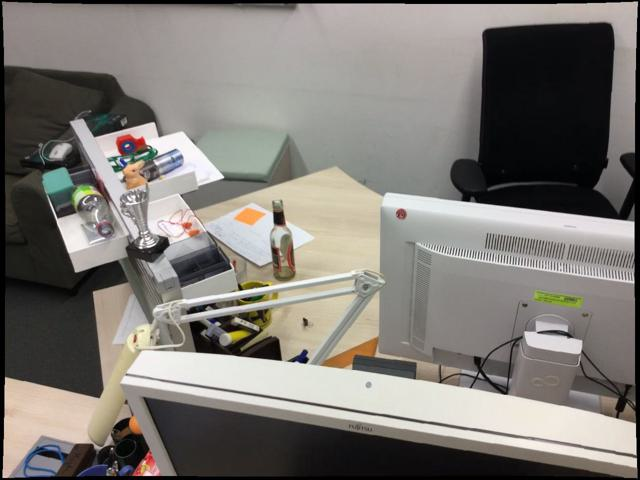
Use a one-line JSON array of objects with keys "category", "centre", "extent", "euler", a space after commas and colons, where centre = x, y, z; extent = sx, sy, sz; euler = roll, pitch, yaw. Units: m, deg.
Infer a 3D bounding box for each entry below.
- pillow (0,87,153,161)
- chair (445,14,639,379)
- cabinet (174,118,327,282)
[{"category": "pillow", "centre": [-1.189, -0.551, 2.790], "extent": [0.550, 0.240, 0.470], "euler": [8, 3, 17]}, {"category": "chair", "centre": [0.839, -0.170, 2.060], "extent": [0.619, 0.991, 0.740], "euler": [8, 41, 17]}, {"category": "cabinet", "centre": [-0.290, -0.200, 2.710], "extent": [0.490, 0.540, 0.480], "euler": [8, 41, 17]}]
